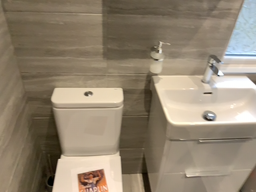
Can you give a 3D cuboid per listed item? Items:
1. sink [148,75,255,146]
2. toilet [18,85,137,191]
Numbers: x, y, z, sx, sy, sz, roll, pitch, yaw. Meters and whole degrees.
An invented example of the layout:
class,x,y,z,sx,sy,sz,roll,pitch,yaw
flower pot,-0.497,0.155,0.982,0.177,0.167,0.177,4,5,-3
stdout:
class,x,y,z,sx,sy,sz,roll,pitch,yaw
sink,0.420,0.050,1.080,0.570,0.130,0.390,0,37,-6
toilet,-0.210,0.450,1.150,0.370,0.820,0.600,-1,37,-7
